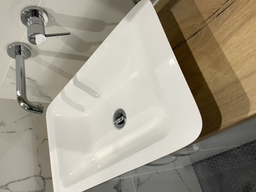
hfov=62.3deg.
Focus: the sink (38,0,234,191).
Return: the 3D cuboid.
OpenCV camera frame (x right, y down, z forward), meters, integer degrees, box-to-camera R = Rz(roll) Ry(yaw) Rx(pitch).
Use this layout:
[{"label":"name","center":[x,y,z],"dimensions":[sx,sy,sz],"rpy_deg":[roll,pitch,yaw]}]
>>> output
[{"label":"sink","center":[-0.080,0.050,0.630],"dimensions":[0.600,0.120,0.390],"rpy_deg":[-38,58,38]}]
